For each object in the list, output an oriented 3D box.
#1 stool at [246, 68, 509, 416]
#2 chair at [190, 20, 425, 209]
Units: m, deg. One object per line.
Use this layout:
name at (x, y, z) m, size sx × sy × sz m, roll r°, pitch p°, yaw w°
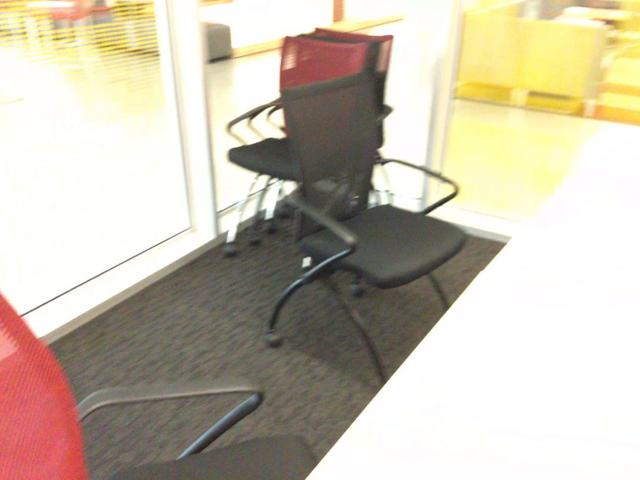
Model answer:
stool at (0.170, -0.040, 1.980) m, size 0.570 × 0.920 × 0.590 m, roll 22°, pitch 33°, yaw 34°
chair at (-0.030, -0.640, 2.680) m, size 0.630 × 0.600 × 0.900 m, roll 19°, pitch 31°, yaw 29°
